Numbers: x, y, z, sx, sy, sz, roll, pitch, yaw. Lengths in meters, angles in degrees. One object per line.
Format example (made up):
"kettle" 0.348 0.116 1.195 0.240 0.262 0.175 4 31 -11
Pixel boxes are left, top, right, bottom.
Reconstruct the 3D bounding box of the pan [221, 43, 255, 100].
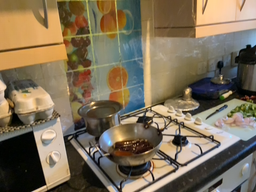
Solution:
"pan" 0.830 -0.170 1.340 0.330 0.280 0.290 -17 23 -32

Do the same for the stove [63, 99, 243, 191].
"stove" 0.080 0.170 0.950 0.580 0.030 0.550 -16 23 -30
